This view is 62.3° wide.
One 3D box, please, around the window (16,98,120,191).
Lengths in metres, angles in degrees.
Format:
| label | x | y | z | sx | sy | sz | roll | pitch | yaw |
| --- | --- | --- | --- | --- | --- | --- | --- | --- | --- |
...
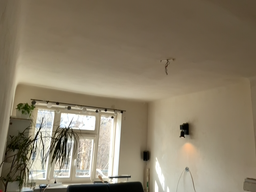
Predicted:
| label | x | y | z | sx | sy | sz | roll | pitch | yaw |
| --- | --- | --- | --- | --- | --- | --- | --- | --- | --- |
| window | -1.200 | 1.060 | 4.660 | 2.000 | 1.750 | 0.280 | 9 | -12 | -27 |
